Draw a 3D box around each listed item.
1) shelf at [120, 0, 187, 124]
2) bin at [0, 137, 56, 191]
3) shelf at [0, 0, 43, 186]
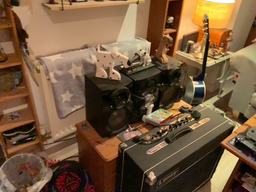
[{"bbox_3d":[0.220,-0.680,1.600,0.380,2.000,0.240,-22,42,-34],"label":"shelf"},{"bbox_3d":[-0.610,0.520,1.200,0.300,0.370,0.320,-19,40,-31],"label":"bin"},{"bbox_3d":[-0.770,-0.160,1.070,0.360,1.590,0.240,-22,42,-34],"label":"shelf"}]
